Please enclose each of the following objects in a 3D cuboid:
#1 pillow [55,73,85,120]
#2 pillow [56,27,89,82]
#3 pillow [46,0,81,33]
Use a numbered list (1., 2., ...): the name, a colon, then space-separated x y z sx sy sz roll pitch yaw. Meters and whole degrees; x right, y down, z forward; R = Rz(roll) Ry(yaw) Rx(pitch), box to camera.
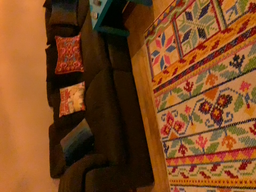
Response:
1. pillow: -0.710 0.020 2.650 0.170 0.420 0.440 -10 67 10
2. pillow: -0.750 -0.550 2.850 0.210 0.350 0.620 -21 65 23
3. pillow: -0.950 -1.240 3.150 0.270 0.400 0.390 -15 77 25
